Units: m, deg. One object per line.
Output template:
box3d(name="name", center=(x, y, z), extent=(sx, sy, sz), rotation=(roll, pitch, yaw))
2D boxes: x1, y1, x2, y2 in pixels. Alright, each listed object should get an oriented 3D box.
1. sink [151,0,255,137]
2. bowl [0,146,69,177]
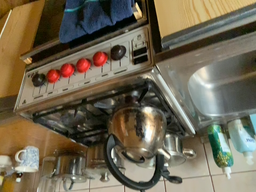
box3d(name="sink", center=(0.380, -0.070, 0.730), extent=(0.410, 0.180, 0.600), rotation=(-15, 147, 20))
box3d(name="bowl", center=(-0.530, 0.360, 1.130), extent=(0.310, 0.070, 0.270), rotation=(-16, 147, 22))
